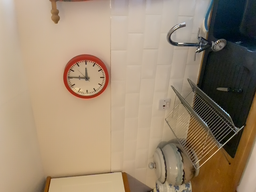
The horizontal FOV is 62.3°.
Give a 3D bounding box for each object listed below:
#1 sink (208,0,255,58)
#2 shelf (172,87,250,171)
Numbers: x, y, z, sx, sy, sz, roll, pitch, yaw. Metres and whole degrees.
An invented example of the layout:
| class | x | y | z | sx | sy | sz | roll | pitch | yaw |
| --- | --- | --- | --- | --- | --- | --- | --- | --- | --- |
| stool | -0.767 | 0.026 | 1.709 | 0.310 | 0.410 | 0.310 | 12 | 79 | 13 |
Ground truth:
| class | x | y | z | sx | sy | sz | roll | pitch | yaw |
| --- | --- | --- | --- | --- | --- | --- | --- | --- | --- |
| sink | 0.650 | -0.430 | 1.070 | 0.480 | 0.190 | 0.370 | -110 | 20 | -62 |
| shelf | 0.430 | 0.170 | 1.190 | 0.300 | 0.230 | 0.340 | -111 | 21 | -60 |
